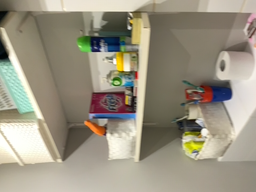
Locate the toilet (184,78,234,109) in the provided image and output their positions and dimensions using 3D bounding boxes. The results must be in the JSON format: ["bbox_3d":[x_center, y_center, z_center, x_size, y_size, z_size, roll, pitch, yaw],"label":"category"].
[{"bbox_3d":[0.360,-0.010,0.960,0.110,0.170,0.090,93,177,-49],"label":"toilet"}]

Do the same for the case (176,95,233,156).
[{"bbox_3d":[0.350,0.140,1.020,0.180,0.160,0.230,93,177,-48],"label":"case"}]

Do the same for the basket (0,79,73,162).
[{"bbox_3d":[-0.480,0.120,0.950,0.310,0.380,0.250,93,176,-55],"label":"basket"}]
